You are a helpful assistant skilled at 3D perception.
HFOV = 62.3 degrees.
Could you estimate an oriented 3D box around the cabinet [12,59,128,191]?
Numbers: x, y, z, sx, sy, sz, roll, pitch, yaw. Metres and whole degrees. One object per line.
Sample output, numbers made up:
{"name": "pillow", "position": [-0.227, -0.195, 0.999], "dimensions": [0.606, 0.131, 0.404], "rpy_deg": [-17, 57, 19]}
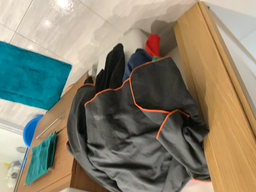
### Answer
{"name": "cabinet", "position": [-0.390, 0.320, 1.460], "dimensions": [0.360, 0.790, 0.760], "rpy_deg": [29, 132, -31]}
